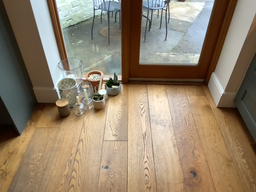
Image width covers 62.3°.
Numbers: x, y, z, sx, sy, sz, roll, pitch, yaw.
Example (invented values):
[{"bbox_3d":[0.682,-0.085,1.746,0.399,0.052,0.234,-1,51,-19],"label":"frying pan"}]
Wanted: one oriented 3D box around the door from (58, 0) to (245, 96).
[{"bbox_3d":[0.180,-0.880,1.650,1.490,2.210,0.080,3,42,1],"label":"door"}]
